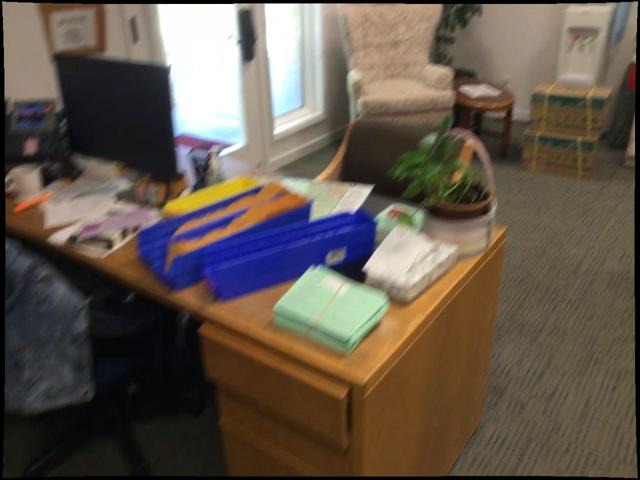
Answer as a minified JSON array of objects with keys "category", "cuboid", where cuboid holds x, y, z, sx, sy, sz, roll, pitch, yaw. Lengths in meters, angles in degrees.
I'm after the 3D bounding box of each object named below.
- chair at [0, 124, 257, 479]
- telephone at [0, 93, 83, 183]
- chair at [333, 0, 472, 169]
[{"category":"chair","cuboid":[-0.719,0.240,1.780,0.690,0.941,0.660,17,35,33]},{"category":"telephone","cuboid":[-1.059,-0.370,2.040,0.340,0.210,0.220,17,35,33]},{"category":"chair","cuboid":[0.529,-1.141,4.040,0.769,1.021,0.750,-5,29,-3]}]
